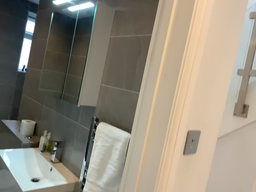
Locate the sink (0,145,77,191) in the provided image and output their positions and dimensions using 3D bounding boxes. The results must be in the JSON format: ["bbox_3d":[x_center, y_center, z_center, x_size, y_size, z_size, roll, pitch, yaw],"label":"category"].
[{"bbox_3d":[-0.660,0.500,1.380,0.350,0.130,0.640,9,4,-45],"label":"sink"}]
